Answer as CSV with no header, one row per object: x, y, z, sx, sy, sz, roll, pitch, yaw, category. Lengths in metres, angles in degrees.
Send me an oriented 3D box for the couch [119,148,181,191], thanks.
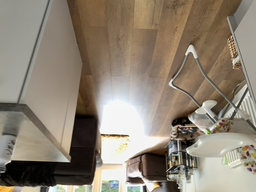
0.480,1.930,5.110,0.970,0.960,1.160,15,148,-25,couch

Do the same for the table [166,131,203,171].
0.980,1.000,3.810,0.420,0.560,0.640,1,151,-1,table

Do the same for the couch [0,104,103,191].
-0.920,0.780,2.990,1.010,0.970,0.970,1,151,-2,couch
